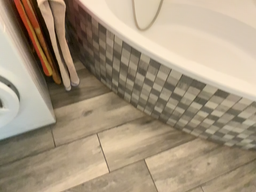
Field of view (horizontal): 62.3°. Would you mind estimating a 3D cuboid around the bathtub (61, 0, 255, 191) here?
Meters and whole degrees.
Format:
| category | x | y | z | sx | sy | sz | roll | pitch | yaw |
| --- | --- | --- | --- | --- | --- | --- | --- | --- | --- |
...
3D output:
| category | x | y | z | sx | sy | sz | roll | pitch | yaw |
| --- | --- | --- | --- | --- | --- | --- | --- | --- | --- |
| bathtub | 0.440 | -0.180 | 1.200 | 1.280 | 0.530 | 1.300 | -18 | 65 | -16 |
